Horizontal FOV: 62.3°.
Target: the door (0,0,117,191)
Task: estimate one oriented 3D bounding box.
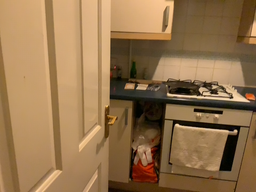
[{"bbox_3d":[-0.210,0.170,0.700,0.040,1.990,0.980,6,17,12],"label":"door"}]
